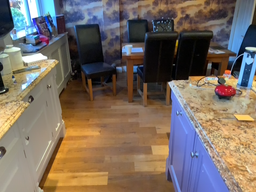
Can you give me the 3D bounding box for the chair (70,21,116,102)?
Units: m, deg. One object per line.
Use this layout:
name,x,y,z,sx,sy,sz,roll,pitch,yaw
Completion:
chair,-0.560,-0.580,3.460,0.480,1.130,0.630,-14,29,-27

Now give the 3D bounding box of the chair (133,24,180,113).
chair,0.360,-0.430,3.130,0.470,1.130,0.690,-3,25,-6

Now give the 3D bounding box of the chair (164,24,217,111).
chair,0.860,-0.440,3.150,0.460,1.130,0.670,-1,25,-1

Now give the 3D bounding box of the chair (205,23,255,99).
chair,1.720,-0.560,3.440,0.610,1.120,0.450,-2,25,-5

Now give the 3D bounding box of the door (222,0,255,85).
door,2.170,-1.320,4.150,0.080,2.030,0.880,4,26,8

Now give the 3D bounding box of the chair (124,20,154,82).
chair,0.190,-0.910,4.210,0.480,1.080,0.660,-2,25,-4
